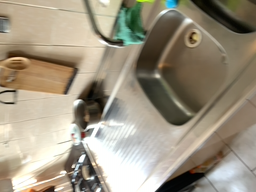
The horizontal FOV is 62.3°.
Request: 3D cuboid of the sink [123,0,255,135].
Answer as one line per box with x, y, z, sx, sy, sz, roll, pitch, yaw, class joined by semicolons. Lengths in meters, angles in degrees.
0.210;-0.120;0.830;0.350;0.200;0.380;55;135;31;sink
